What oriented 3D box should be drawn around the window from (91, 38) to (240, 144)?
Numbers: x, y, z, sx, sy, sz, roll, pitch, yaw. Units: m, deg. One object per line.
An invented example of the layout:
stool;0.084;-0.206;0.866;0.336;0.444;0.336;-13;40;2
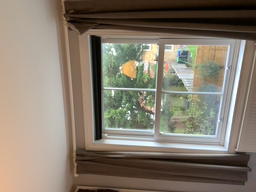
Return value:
window;0.350;-0.030;2.300;0.030;1.470;1.130;-75;-13;-72
